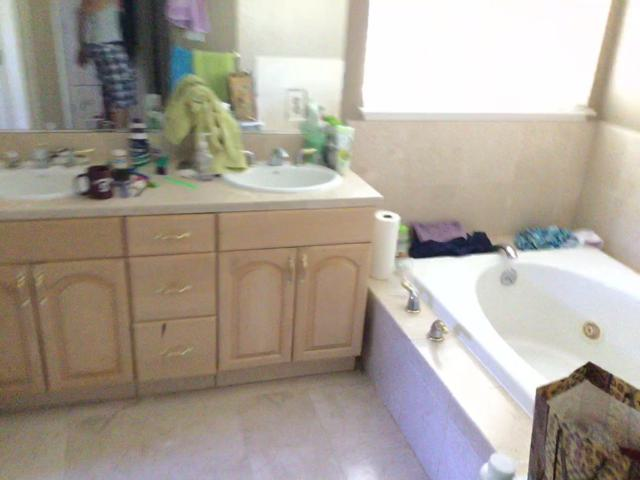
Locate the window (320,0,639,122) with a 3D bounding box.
[{"bbox_3d":[0.880,-1.150,2.610,1.700,1.180,0.220,-4,24,-20],"label":"window"}]

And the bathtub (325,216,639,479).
[{"bbox_3d":[0.910,0.510,2.120,1.210,0.540,1.830,-4,24,-19],"label":"bathtub"}]

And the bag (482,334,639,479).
[{"bbox_3d":[0.510,0.410,1.030,0.230,0.330,0.330,-4,24,-20],"label":"bag"}]
